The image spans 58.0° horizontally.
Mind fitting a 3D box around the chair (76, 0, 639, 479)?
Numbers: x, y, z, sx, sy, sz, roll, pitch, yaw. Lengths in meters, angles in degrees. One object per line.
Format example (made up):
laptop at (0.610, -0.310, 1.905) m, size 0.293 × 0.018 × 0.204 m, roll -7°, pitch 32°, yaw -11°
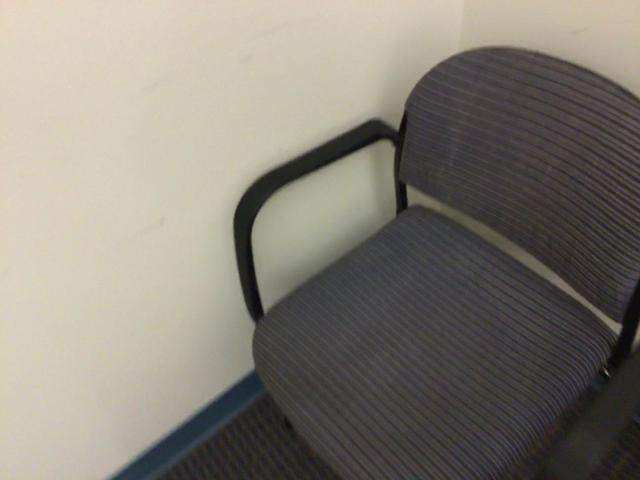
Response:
chair at (0.140, 0.110, 0.940) m, size 0.620 × 0.670 × 0.640 m, roll -32°, pitch 48°, yaw -27°
